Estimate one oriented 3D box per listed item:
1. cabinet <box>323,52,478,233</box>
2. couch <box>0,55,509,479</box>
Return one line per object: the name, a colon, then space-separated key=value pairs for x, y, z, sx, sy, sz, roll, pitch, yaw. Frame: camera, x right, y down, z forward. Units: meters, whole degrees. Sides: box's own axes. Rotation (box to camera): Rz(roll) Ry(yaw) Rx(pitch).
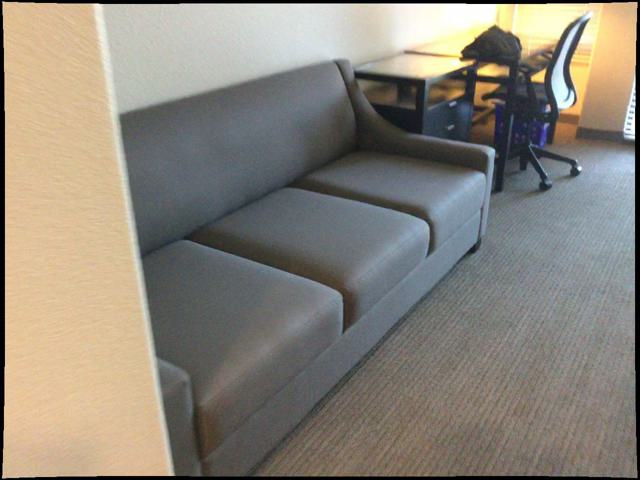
cabinet: x=0.469 y=-0.602 z=3.340 sx=0.579 sy=0.802 sz=0.730 roll=15 pitch=31 yaw=30
couch: x=-0.120 y=-0.080 z=2.230 sx=0.948 sy=0.872 sz=2.119 roll=15 pitch=31 yaw=30
